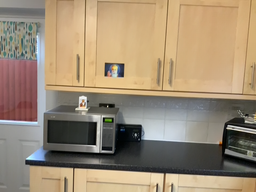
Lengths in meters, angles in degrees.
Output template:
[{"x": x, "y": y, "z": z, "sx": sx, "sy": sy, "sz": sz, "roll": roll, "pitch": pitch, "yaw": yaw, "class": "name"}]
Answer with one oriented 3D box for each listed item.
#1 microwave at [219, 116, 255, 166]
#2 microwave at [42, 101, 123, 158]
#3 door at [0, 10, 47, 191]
[{"x": 0.990, "y": 0.340, "z": 1.650, "sx": 0.410, "sy": 0.260, "sz": 0.420, "roll": 7, "pitch": 7, "yaw": 37, "class": "microwave"}, {"x": -0.330, "y": 0.240, "z": 1.700, "sx": 0.520, "sy": 0.320, "sz": 0.440, "roll": 3, "pitch": 6, "yaw": 4, "class": "microwave"}, {"x": -1.260, "y": 0.200, "z": 2.200, "sx": 0.800, "sy": 2.090, "sz": 0.050, "roll": 3, "pitch": 6, "yaw": 1, "class": "door"}]
